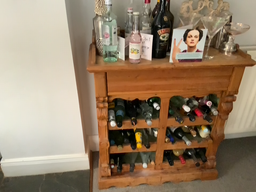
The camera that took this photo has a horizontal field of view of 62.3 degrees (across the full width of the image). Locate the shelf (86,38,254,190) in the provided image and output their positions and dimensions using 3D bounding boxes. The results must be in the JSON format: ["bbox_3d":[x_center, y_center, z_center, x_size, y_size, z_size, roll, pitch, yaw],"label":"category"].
[{"bbox_3d":[0.190,0.120,1.420,0.830,0.880,0.420,-3,31,-7],"label":"shelf"}]
